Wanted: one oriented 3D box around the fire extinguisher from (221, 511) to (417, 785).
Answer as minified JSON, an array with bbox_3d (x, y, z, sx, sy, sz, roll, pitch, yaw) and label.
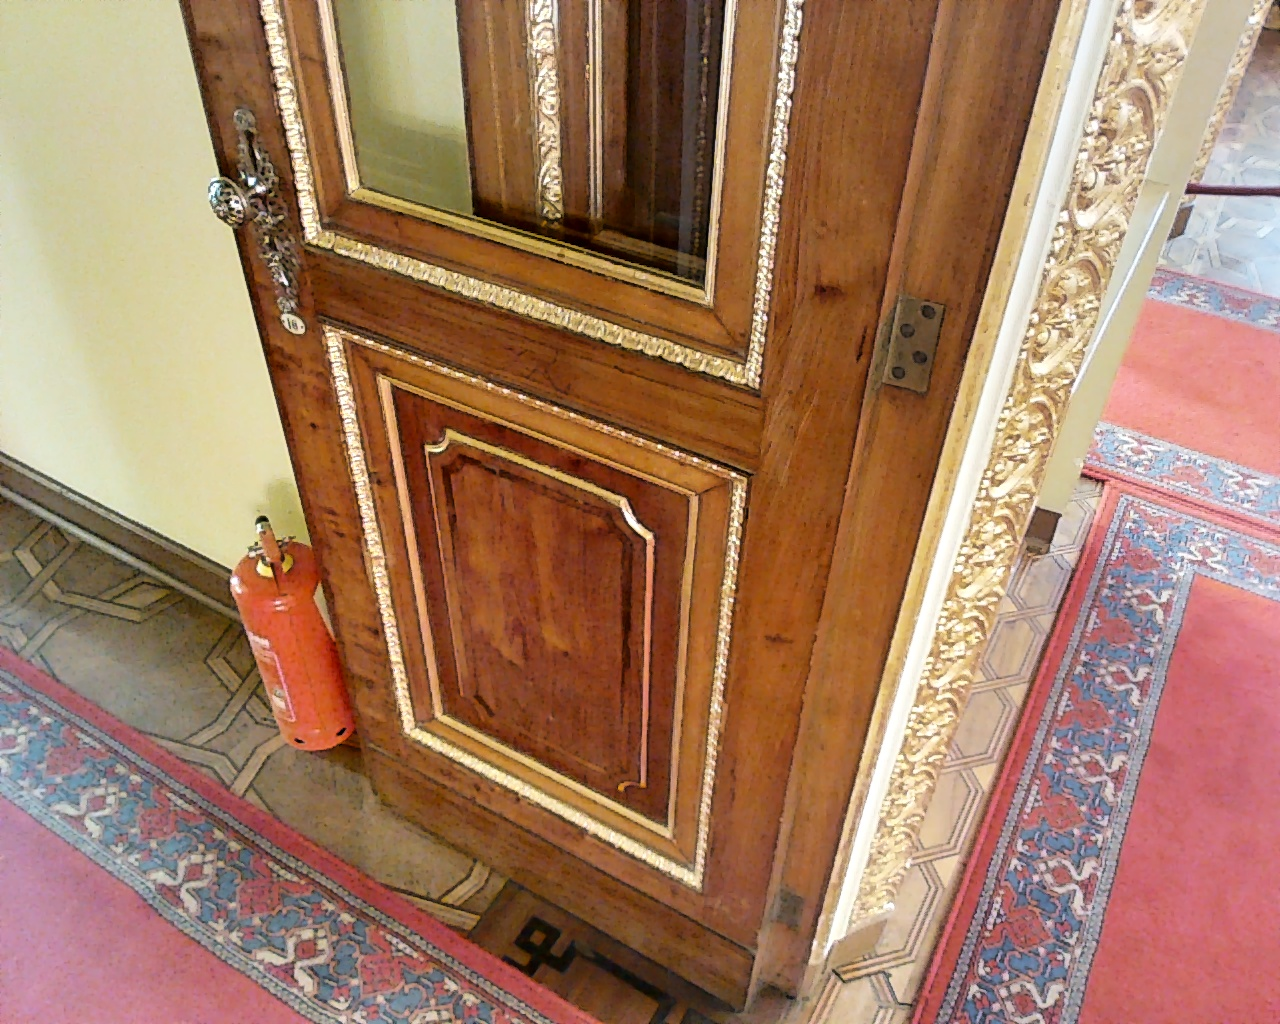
[{"bbox_3d":[-0.580,0.260,1.990,0.210,0.470,0.170,22,46,22],"label":"fire extinguisher"}]
